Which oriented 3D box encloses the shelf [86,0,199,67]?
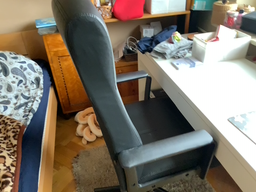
[{"bbox_3d":[0.080,-0.990,1.660,0.850,1.330,0.470,-9,34,-10],"label":"shelf"}]
